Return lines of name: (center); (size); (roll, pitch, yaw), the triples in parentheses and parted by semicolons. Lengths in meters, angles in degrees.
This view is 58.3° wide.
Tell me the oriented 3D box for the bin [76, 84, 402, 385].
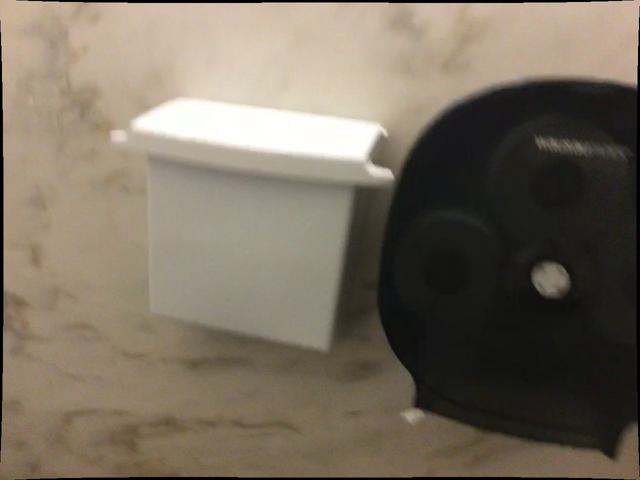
bin: (-0.100, -0.020, 0.710); (0.350, 0.290, 0.140); (9, 14, 11)
